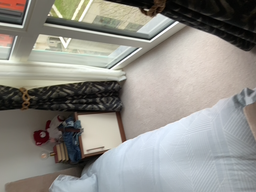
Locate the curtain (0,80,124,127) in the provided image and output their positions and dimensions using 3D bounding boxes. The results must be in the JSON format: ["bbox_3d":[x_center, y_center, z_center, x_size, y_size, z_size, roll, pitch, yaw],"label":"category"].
[{"bbox_3d":[-1.090,0.070,1.760,0.320,2.300,0.290,-38,61,48],"label":"curtain"}]

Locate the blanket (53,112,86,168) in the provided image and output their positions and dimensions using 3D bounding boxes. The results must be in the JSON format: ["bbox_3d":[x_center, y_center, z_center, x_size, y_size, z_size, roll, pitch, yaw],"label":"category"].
[{"bbox_3d":[-0.620,0.470,2.190,0.550,0.090,0.420,-39,61,48],"label":"blanket"}]
